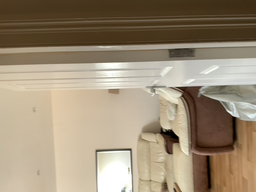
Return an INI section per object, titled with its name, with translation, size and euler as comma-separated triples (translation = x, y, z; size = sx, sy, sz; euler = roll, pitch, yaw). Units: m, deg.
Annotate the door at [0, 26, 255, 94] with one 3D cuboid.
[door]
translation = 0.090, -0.150, 1.210
size = 0.880, 2.020, 0.120
euler = 101, 166, -85
